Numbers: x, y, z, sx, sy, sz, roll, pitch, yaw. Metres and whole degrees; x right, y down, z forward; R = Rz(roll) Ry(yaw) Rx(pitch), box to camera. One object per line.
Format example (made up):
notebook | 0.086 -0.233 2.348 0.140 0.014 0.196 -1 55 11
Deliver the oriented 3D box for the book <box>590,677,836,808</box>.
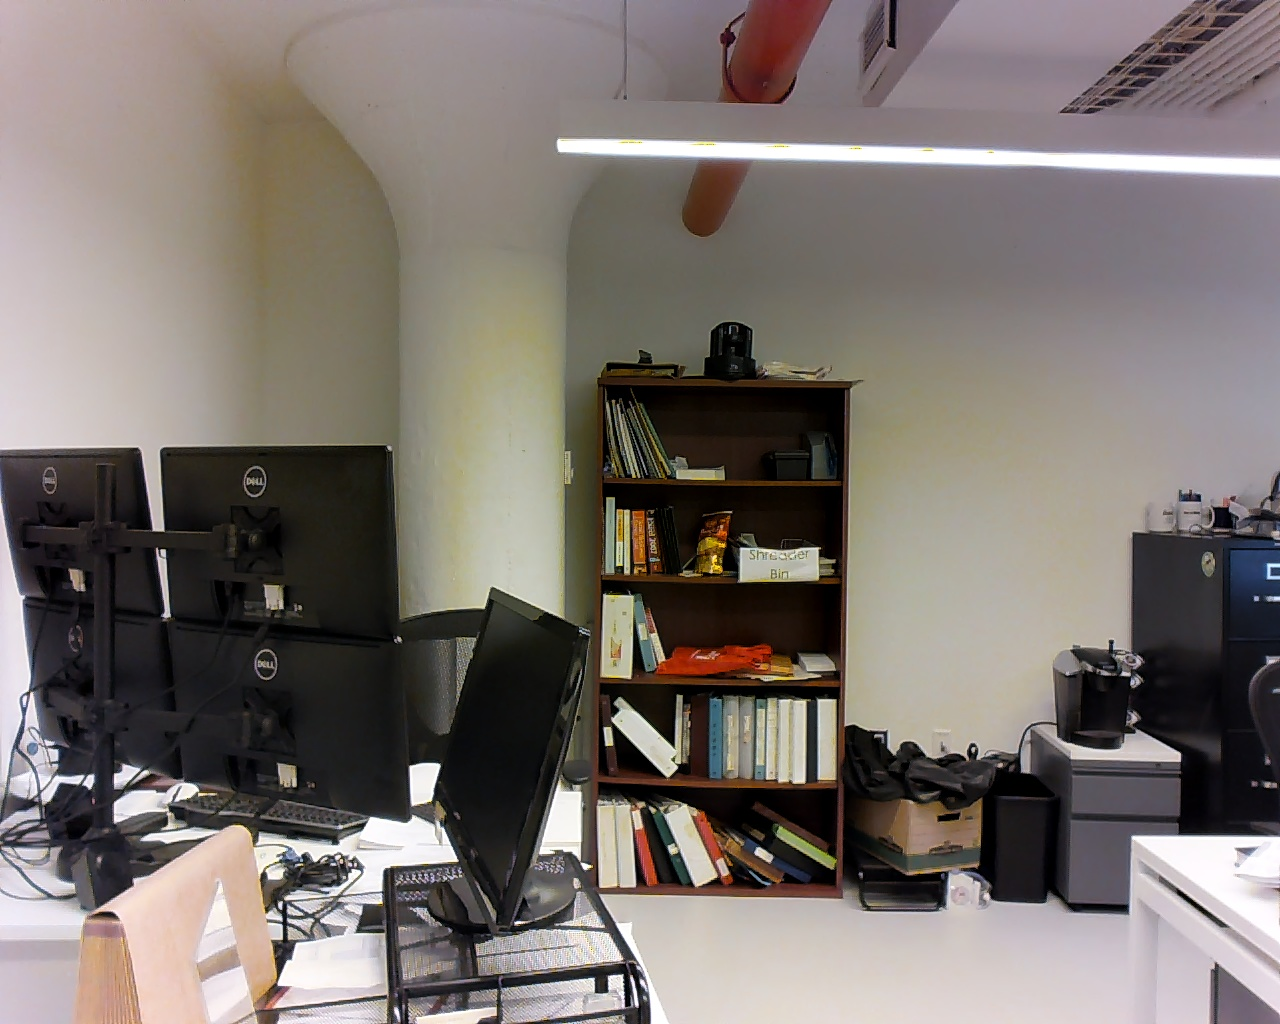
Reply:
book | 0.260 0.850 4.010 0.870 0.390 0.400 1 1 0

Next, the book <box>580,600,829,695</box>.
book | 0.220 0.500 4.020 0.880 0.290 0.440 1 1 -3

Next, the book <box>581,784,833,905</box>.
book | 0.230 1.240 4.040 0.900 0.320 0.420 1 1 -3
